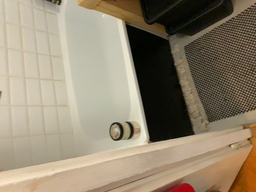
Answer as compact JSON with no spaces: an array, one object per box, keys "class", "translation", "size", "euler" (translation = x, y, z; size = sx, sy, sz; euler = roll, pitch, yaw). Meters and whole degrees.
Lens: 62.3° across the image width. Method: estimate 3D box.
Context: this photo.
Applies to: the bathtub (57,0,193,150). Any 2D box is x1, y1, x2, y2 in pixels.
[{"class":"bathtub","translation":[-0.090,-0.360,1.650],"size":[0.670,0.540,1.400],"euler":[-21,73,42]}]
